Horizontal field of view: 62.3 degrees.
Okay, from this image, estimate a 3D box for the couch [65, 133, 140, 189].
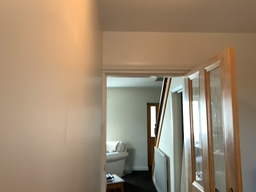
[{"bbox_3d":[-0.640,1.520,5.380,1.380,0.980,1.270,-4,-7,39],"label":"couch"}]
